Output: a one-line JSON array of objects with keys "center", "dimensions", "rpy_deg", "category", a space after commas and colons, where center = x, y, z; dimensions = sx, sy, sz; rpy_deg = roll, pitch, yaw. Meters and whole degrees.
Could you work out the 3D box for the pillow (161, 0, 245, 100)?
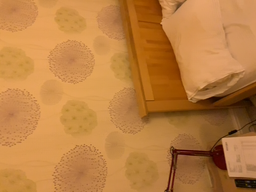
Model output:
[{"center": [0.420, -0.340, 1.330], "dimensions": [0.380, 0.130, 0.630], "rpy_deg": [132, 132, -59], "category": "pillow"}]
